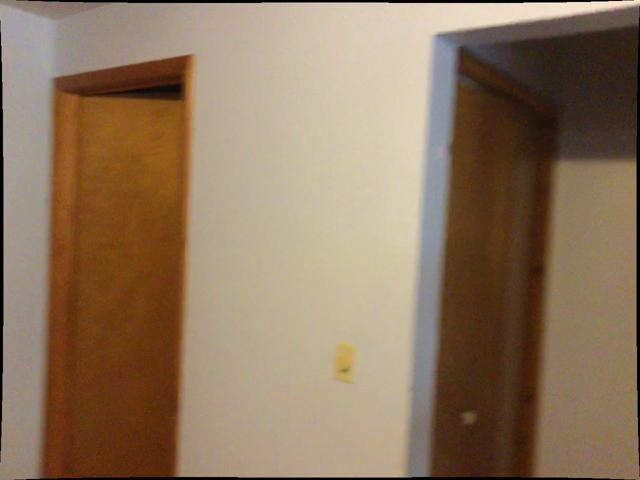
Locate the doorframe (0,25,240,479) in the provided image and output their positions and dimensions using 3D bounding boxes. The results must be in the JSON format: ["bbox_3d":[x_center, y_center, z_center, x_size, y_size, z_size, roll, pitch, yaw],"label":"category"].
[{"bbox_3d":[-0.929,0.220,2.490,1.159,2.062,0.230,6,3,34],"label":"doorframe"}]

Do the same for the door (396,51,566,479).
[{"bbox_3d":[0.599,0.480,2.080,0.170,2.012,1.020,6,3,34],"label":"door"}]

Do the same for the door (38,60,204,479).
[{"bbox_3d":[-0.929,0.250,2.600,0.770,1.992,0.180,6,3,34],"label":"door"}]
